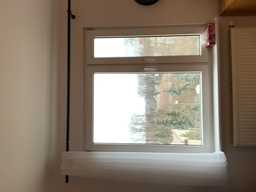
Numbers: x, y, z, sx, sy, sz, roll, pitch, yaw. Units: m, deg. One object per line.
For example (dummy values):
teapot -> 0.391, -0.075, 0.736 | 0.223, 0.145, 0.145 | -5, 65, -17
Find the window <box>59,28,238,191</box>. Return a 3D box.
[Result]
window -> 0.200, 0.150, 2.390 | 0.150, 1.930, 1.750 | 17, -107, -86

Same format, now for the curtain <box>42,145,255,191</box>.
curtain -> 0.490, 0.730, 2.170 | 0.290, 2.690, 0.350 | -9, -81, -86
